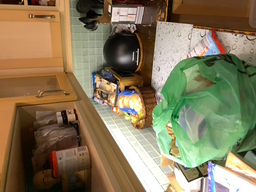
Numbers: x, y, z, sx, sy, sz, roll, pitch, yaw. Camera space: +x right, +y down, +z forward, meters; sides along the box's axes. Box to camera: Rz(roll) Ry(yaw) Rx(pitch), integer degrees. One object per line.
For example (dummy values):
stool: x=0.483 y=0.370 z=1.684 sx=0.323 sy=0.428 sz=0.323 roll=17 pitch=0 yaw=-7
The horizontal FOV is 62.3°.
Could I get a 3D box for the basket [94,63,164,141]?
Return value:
basket: x=-0.040 y=-0.010 z=1.400 sx=0.630 sy=0.220 sz=0.270 roll=-136 pitch=45 yaw=-58
